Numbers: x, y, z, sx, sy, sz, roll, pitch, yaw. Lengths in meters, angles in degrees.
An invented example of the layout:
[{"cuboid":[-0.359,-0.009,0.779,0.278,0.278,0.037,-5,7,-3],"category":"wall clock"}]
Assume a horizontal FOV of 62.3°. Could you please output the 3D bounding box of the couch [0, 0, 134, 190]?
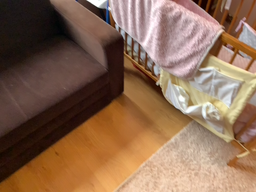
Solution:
[{"cuboid":[-0.790,-0.120,1.320,1.470,0.850,0.820,-36,62,-23],"category":"couch"}]
